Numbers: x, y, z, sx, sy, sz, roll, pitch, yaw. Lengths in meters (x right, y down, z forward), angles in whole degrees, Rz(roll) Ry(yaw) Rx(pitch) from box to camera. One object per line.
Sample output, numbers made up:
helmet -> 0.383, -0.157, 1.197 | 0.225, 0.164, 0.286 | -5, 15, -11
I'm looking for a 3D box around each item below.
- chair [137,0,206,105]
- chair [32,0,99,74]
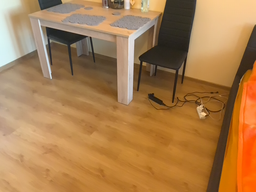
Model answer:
chair -> 0.440, -0.510, 2.240 | 0.450, 0.990, 0.550 | 18, 40, 20
chair -> -0.760, -0.880, 2.700 | 0.550, 0.990, 0.450 | 17, 39, 20
